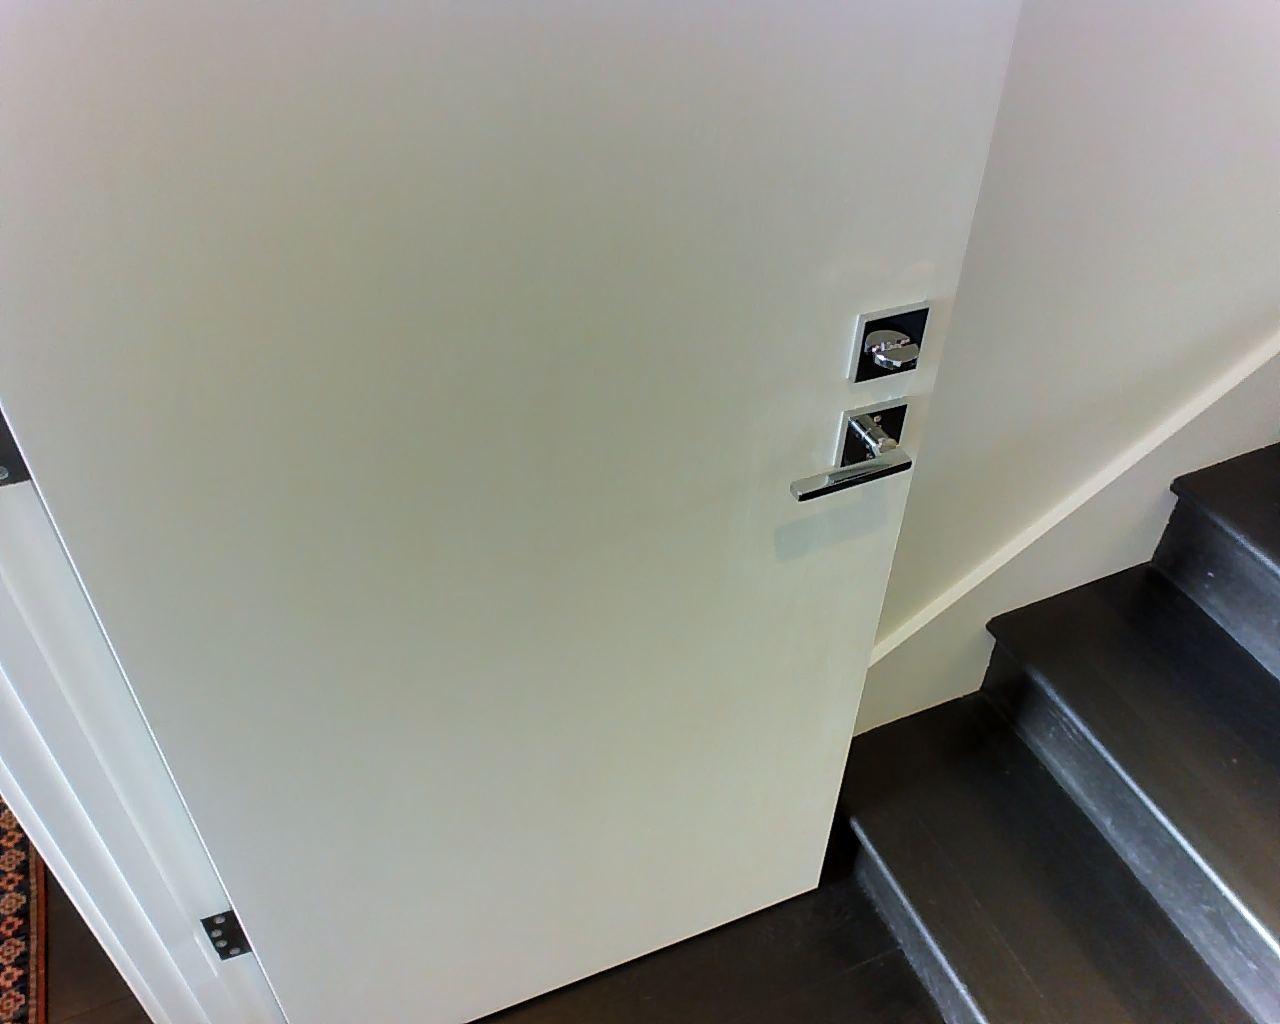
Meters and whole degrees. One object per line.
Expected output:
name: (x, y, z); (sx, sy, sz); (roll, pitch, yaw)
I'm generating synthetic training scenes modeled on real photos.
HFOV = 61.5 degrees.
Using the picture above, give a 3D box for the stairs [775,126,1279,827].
stairs: (0.830, -0.070, 1.540); (1.300, 0.990, 0.070); (-15, 44, -17)
